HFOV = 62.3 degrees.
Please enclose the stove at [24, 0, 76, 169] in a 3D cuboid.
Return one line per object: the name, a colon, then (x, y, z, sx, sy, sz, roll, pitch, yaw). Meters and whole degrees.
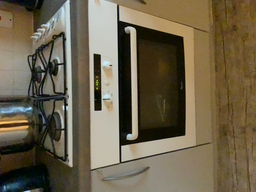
stove: (-0.360, -0.050, 0.910, 0.550, 0.040, 0.580, -3, 88, 53)
